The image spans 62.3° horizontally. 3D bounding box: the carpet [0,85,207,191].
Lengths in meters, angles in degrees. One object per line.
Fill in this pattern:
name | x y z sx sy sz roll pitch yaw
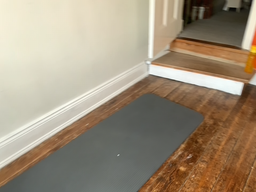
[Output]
carpet | -0.120 0.370 1.420 0.640 0.030 1.770 22 38 32
